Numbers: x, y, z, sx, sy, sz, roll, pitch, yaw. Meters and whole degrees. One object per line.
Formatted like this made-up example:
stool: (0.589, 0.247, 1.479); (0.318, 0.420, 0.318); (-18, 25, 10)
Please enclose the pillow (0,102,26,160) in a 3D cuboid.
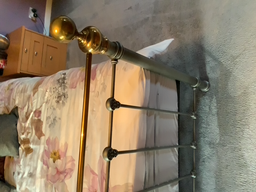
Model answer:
pillow: (-1.040, 0.270, 1.680); (0.350, 0.260, 0.420); (-6, 79, 39)
